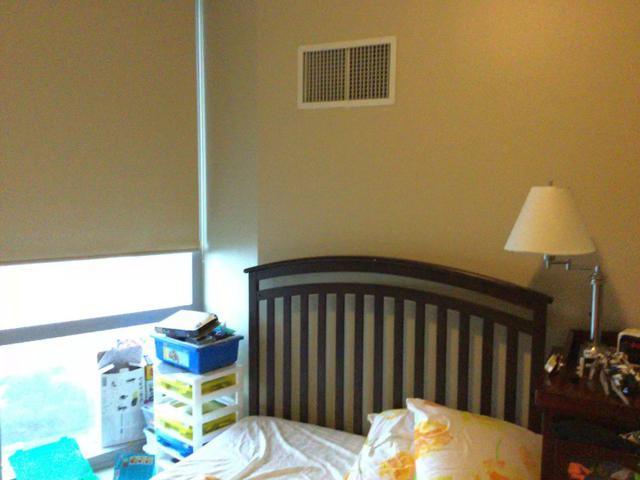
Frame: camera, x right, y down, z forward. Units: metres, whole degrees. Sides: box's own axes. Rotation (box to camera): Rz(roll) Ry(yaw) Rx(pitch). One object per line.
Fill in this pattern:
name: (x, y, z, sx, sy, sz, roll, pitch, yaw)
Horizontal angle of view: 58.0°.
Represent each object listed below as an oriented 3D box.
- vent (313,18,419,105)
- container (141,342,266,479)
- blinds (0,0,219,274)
vent: (0.190, -0.760, 2.500, 0.470, 0.310, 0.060, 3, 5, 30)
container: (-0.580, 0.880, 2.910, 0.460, 0.590, 0.410, 4, 6, 37)
blinds: (-1.450, -0.530, 2.640, 1.890, 1.310, 0.520, -2, 5, -32)
